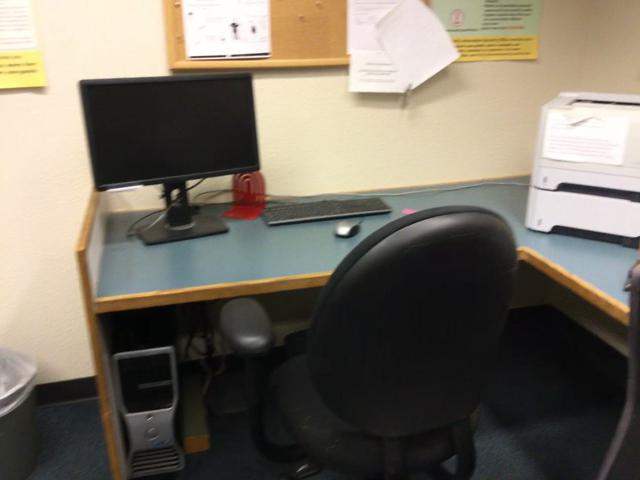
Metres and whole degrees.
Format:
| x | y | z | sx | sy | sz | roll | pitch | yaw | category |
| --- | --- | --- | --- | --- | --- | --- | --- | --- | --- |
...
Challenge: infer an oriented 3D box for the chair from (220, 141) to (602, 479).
| x | y | z | sx | sy | sz | roll | pitch | yaw | category |
| --- | --- | --- | --- | --- | --- | --- | --- | --- | --- |
| 0.130 | 0.370 | 1.420 | 0.560 | 1.070 | 0.730 | -8 | 20 | -14 | chair |
